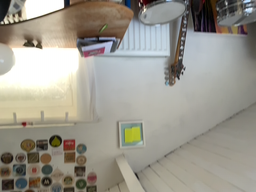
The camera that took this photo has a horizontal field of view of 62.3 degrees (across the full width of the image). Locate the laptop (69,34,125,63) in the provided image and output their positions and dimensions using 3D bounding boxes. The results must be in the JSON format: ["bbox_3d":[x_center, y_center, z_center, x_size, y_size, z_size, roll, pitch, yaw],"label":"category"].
[{"bbox_3d":[-0.260,-0.360,1.700,0.380,0.110,0.490,-1,179,-12],"label":"laptop"}]

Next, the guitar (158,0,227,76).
[{"bbox_3d":[0.520,-0.750,1.850,0.340,1.100,0.530,-1,179,-11],"label":"guitar"}]
